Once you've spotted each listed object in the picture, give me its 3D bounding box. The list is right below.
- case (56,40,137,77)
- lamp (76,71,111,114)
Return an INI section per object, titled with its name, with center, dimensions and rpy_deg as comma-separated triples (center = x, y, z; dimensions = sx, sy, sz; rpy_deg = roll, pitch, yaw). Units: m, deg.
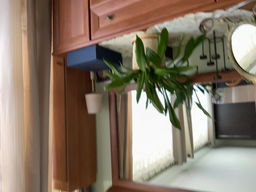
[case]
center = -0.220, -0.250, 1.550
dimensions = 0.400, 0.120, 0.430
rpy_deg = -5, 175, 35
[lamp]
center = -0.280, -0.020, 1.730
dimensions = 0.190, 0.320, 0.190
rpy_deg = -5, 175, 34
